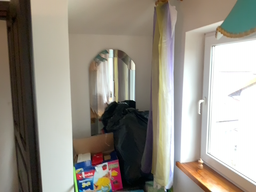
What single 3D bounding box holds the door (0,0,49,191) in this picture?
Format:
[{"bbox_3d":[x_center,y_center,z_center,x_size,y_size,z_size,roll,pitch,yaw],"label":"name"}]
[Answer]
[{"bbox_3d":[-0.560,0.420,1.250,0.120,1.950,0.820,-3,9,-19],"label":"door"}]
